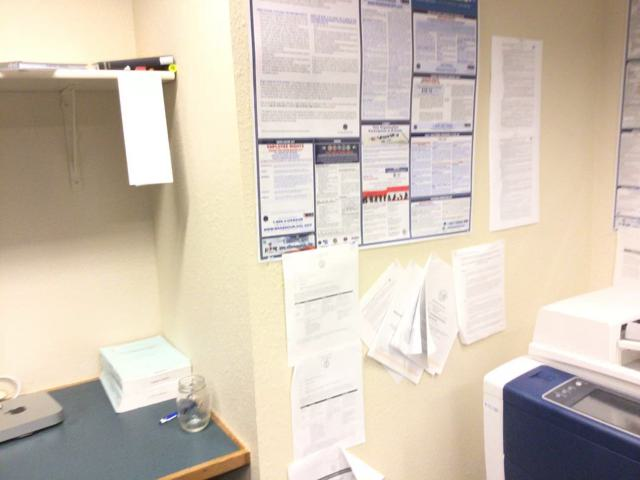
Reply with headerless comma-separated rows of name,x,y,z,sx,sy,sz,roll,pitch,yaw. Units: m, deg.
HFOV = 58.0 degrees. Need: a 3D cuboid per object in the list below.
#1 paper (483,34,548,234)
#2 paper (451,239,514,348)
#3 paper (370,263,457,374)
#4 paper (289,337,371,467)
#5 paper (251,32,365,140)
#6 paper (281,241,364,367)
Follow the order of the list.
paper,0.570,-0.300,1.680,0.230,0.550,0.030,-5,7,-31
paper,0.470,0.150,1.670,0.220,0.290,0.030,-5,7,-31
paper,0.250,0.200,1.530,0.230,0.250,0.080,-5,7,-31
paper,0.030,0.400,1.450,0.220,0.280,0.030,-5,7,-31
paper,-0.020,-0.340,1.310,0.280,0.220,0.020,-5,7,-31
paper,0.010,0.150,1.410,0.220,0.280,0.020,-5,7,-31
